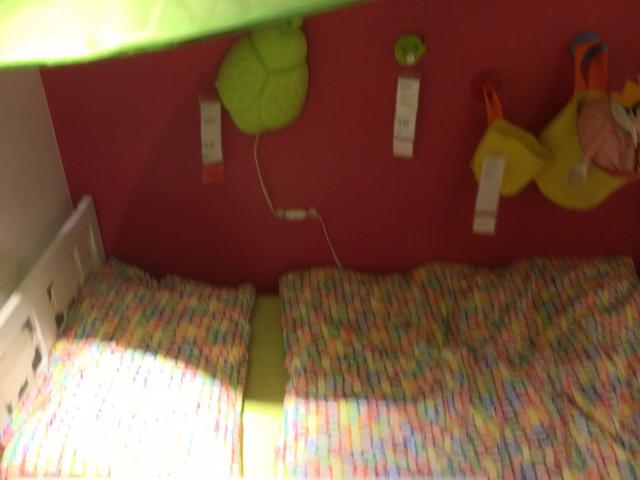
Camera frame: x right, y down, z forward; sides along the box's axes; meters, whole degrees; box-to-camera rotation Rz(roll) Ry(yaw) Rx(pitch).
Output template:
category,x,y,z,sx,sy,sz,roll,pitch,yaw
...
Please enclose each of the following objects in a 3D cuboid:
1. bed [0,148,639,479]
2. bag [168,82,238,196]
category,x,y,z,sx,sy,sz,roll,pitch,yaw
bed,0.170,0.340,1.380,1.640,0.810,0.880,-1,29,7
bag,-0.290,-0.250,1.460,0.120,0.280,0.050,-1,29,7
